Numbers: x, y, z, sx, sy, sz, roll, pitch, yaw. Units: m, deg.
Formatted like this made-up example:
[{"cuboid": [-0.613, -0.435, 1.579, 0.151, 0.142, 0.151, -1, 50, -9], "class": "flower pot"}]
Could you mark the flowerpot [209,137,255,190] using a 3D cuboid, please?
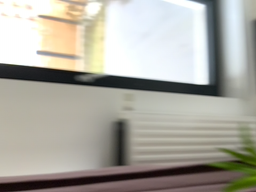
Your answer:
[{"cuboid": [0.740, 0.300, 1.020, 0.280, 0.620, 0.190, 160, 113, -66], "class": "flowerpot"}]
